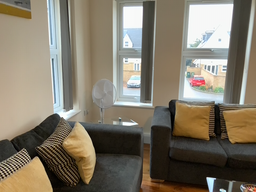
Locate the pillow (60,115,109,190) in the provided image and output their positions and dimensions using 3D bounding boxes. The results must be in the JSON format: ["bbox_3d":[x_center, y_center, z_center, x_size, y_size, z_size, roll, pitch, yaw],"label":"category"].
[{"bbox_3d":[-0.340,0.460,1.820,0.200,0.360,0.510,2,29,9],"label":"pillow"}]

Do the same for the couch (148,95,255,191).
[{"bbox_3d":[1.090,0.510,2.540,1.570,0.790,1.010,3,12,12],"label":"couch"}]

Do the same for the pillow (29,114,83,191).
[{"bbox_3d":[-0.560,0.480,1.770,0.180,0.440,0.500,-2,31,4],"label":"pillow"}]

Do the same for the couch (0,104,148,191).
[{"bbox_3d":[-0.490,0.700,1.570,1.020,0.790,1.880,3,12,12],"label":"couch"}]

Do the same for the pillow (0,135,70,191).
[{"bbox_3d":[-0.560,0.590,1.220,0.180,0.450,0.570,-1,37,6],"label":"pillow"}]

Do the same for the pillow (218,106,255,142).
[{"bbox_3d":[1.340,0.330,2.450,0.450,0.420,0.160,-4,41,3],"label":"pillow"}]

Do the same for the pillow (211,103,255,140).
[{"bbox_3d":[1.330,0.310,2.580,0.510,0.430,0.170,3,43,11],"label":"pillow"}]
